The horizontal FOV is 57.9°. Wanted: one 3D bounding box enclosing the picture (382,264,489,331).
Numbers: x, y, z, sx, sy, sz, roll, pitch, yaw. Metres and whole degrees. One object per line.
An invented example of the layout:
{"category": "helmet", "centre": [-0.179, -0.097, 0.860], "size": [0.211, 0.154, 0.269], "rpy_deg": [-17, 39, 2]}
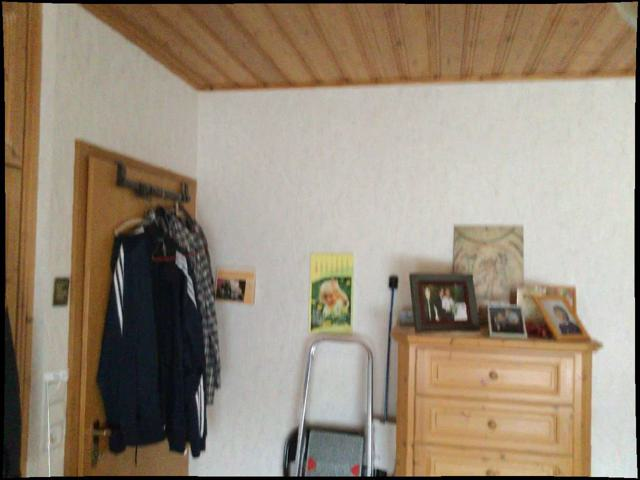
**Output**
{"category": "picture", "centre": [0.460, 0.220, 2.300], "size": [0.390, 0.220, 0.230], "rpy_deg": [2, 1, 14]}

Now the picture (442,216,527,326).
{"category": "picture", "centre": [0.709, 0.130, 2.510], "size": [0.330, 0.450, 0.100], "rpy_deg": [2, 0, 14]}

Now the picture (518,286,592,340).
{"category": "picture", "centre": [0.879, 0.270, 2.190], "size": [0.220, 0.160, 0.250], "rpy_deg": [2, 0, 14]}

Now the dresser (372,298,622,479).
{"category": "dresser", "centre": [0.639, 0.991, 2.270], "size": [0.799, 1.421, 0.570], "rpy_deg": [2, 0, 14]}

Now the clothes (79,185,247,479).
{"category": "clothes", "centre": [-0.589, 0.330, 2.360], "size": [0.270, 1.031, 0.810], "rpy_deg": [2, 0, 14]}
